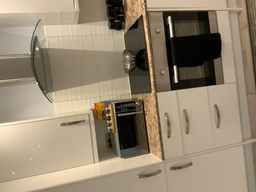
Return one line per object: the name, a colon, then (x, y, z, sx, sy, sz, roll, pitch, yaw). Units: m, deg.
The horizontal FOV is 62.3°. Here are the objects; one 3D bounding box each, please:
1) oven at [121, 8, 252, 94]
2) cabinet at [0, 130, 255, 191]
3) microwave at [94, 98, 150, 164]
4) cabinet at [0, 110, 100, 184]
oven: (0.490, -0.380, 1.960, 0.640, 0.900, 0.610, 178, 85, -73)
cabinet: (0.040, 0.830, 1.800, 0.660, 2.130, 0.650, 178, 85, -73)
microwave: (-0.060, 0.290, 1.870, 0.250, 0.380, 0.490, 162, 100, -73)
cabinet: (-0.690, 0.380, 1.740, 0.350, 0.820, 0.410, 178, 85, -73)
